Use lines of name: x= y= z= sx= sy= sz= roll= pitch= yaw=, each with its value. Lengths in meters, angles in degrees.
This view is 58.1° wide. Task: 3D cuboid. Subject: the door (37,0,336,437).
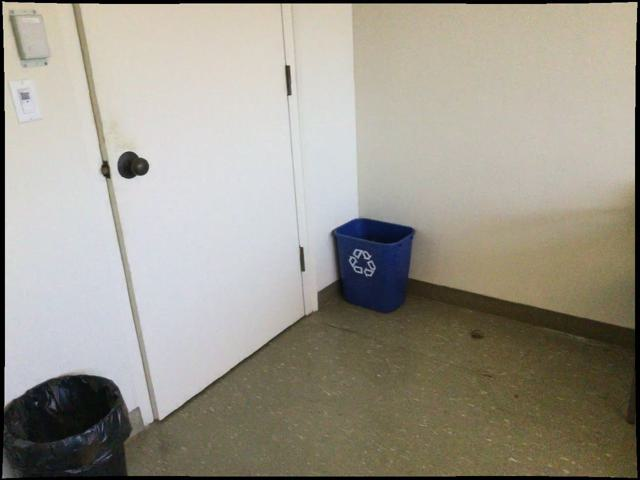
door: x=-0.379 y=-0.341 z=2.220 sx=0.150 sy=1.864 sz=1.109 roll=12 pitch=27 yaw=35
